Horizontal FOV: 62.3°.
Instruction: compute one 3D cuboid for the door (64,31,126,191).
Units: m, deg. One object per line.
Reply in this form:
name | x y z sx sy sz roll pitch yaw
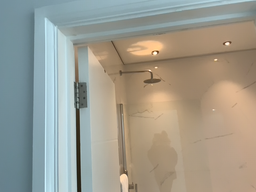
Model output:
door | -0.080 0.810 0.980 0.040 1.970 0.830 -5 -10 8
